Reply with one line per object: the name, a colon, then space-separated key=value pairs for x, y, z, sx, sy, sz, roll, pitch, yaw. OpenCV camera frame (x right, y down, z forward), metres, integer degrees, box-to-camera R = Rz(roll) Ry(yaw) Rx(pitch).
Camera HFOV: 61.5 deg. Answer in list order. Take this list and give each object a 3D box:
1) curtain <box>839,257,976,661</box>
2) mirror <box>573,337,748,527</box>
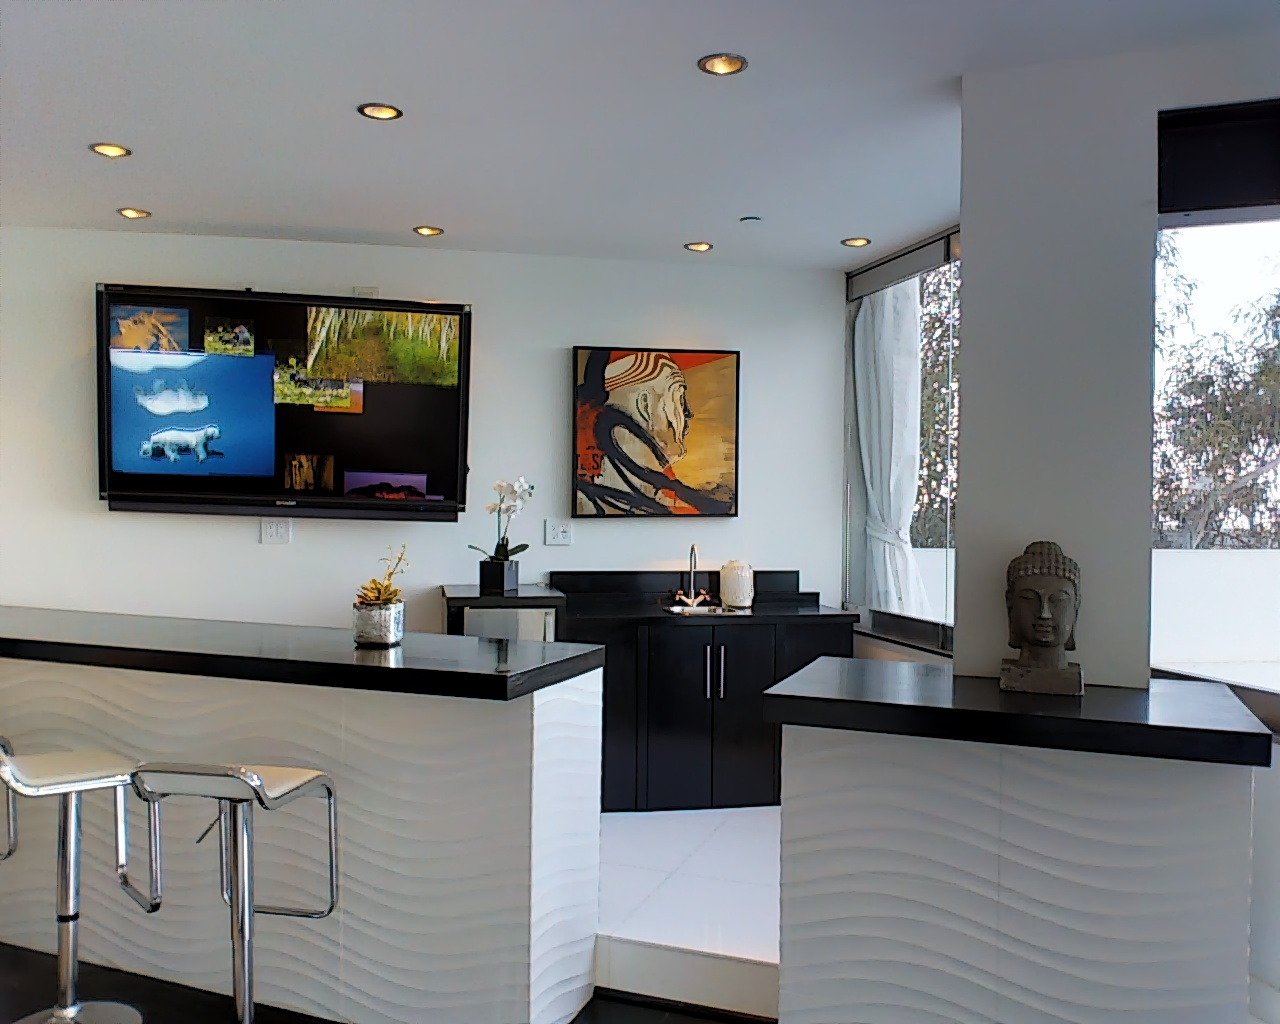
curtain: x=1.280 y=-0.240 z=5.190 sx=0.430 sy=1.840 sz=0.490 roll=1 pitch=1 yaw=-14
mirror: x=0.100 y=-0.370 z=5.100 sx=0.820 sy=0.870 sz=0.090 roll=1 pitch=1 yaw=-12
